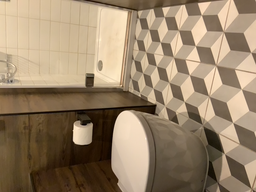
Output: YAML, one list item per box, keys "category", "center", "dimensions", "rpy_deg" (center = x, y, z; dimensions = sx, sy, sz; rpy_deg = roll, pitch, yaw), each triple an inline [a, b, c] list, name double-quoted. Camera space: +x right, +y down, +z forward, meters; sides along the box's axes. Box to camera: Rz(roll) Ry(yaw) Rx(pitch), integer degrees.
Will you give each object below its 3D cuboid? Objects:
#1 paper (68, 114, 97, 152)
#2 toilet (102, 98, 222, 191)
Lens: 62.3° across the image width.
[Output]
- category: "paper"
  center: [-0.270, 0.210, 1.240]
  dimensions: [0.170, 0.110, 0.140]
  rpy_deg: [34, 120, 54]
- category: "toilet"
  center: [0.160, 0.300, 1.170]
  dimensions: [0.380, 0.450, 0.470]
  rpy_deg: [28, 116, 56]
